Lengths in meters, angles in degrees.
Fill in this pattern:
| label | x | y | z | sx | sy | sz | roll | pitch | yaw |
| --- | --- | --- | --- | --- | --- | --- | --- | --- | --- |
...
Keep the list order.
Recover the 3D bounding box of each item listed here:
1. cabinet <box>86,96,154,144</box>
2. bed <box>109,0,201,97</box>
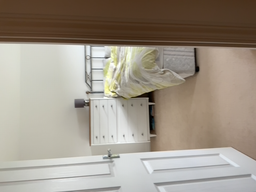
| label | x | y | z | sx | sy | sz | roll | pitch | yaw |
| --- | --- | --- | --- | --- | --- | --- | --- | --- | --- |
| cabinet | -0.160 | 0.400 | 3.740 | 0.450 | 1.120 | 0.760 | 156 | 113 | -78 |
| bed | 0.180 | -0.860 | 3.080 | 2.050 | 0.680 | 1.640 | 162 | 107 | -79 |
